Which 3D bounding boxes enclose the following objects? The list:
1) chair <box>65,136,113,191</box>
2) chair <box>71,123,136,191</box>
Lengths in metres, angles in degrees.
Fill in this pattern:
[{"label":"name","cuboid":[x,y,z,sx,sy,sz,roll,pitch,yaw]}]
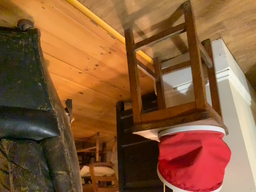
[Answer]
[{"label":"chair","cuboid":[-0.580,1.090,3.210,0.470,0.830,0.500,-21,151,36]},{"label":"chair","cuboid":[-0.310,0.930,2.650,0.630,1.000,0.480,-20,152,35]}]
